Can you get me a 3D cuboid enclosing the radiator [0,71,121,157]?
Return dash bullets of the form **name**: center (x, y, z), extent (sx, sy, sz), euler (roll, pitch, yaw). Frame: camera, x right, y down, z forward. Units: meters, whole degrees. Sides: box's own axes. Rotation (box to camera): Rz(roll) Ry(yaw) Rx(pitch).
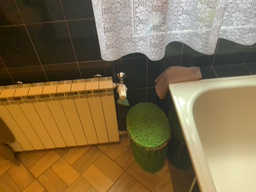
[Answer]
- **radiator**: center (-0.460, 0.160, 1.440), extent (0.770, 0.660, 0.130), euler (-4, 46, -1)
